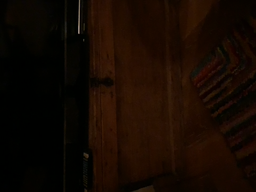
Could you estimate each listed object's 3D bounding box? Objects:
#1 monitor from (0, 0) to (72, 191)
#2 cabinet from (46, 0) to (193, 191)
[{"bbox_3d":[-0.540,0.090,0.670,0.070,0.720,1.070,3,92,53],"label":"monitor"},{"bbox_3d":[-0.070,0.040,1.050,0.510,0.490,0.910,-7,85,53],"label":"cabinet"}]
